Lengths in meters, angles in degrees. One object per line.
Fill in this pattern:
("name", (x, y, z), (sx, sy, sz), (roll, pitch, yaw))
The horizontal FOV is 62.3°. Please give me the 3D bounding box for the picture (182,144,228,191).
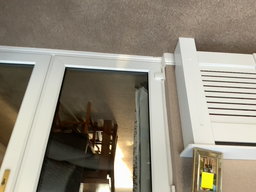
("picture", (0.400, 0.390, 1.100), (0.200, 0.220, 0.080), (14, 148, 3))
